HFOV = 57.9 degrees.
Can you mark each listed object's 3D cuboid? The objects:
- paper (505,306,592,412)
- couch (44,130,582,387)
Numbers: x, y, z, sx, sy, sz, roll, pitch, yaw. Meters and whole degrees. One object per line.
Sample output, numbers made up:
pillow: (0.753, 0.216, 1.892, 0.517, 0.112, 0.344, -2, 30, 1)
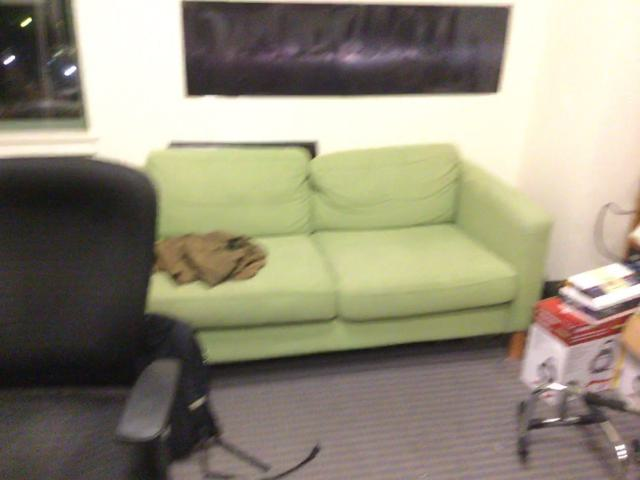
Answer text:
paper: (0.830, 0.430, 2.130, 0.130, 0.250, 0.290, -3, 23, -10)
couch: (-0.040, -0.020, 2.340, 1.720, 0.630, 0.880, -3, 23, -10)
